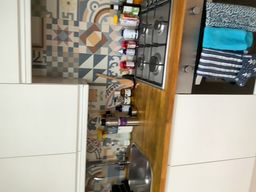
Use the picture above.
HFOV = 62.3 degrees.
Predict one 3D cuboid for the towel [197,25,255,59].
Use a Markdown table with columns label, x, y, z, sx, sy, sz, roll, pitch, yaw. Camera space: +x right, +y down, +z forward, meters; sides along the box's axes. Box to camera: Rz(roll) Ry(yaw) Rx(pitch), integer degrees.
| label | x | y | z | sx | sy | sz | roll | pitch | yaw |
| --- | --- | --- | --- | --- | --- | --- | --- | --- | --- |
| towel | 0.550 | -0.290 | 1.170 | 0.090 | 0.310 | 0.150 | -146 | 59 | -68 |

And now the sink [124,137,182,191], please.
| label | x | y | z | sx | sy | sz | roll | pitch | yaw |
| --- | --- | --- | --- | --- | --- | --- | --- | --- | --- |
| sink | 0.170 | 0.630 | 1.670 | 0.450 | 0.240 | 0.450 | -145 | 58 | -67 |

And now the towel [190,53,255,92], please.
| label | x | y | z | sx | sy | sz | roll | pitch | yaw |
| --- | --- | --- | --- | --- | --- | --- | --- | --- | --- |
| towel | 0.590 | -0.130 | 1.230 | 0.070 | 0.460 | 0.200 | -144 | 56 | -67 |

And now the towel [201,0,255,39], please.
| label | x | y | z | sx | sy | sz | roll | pitch | yaw |
| --- | --- | --- | --- | --- | --- | --- | --- | --- | --- |
| towel | 0.600 | -0.420 | 1.180 | 0.070 | 0.380 | 0.160 | -144 | 56 | -67 |
